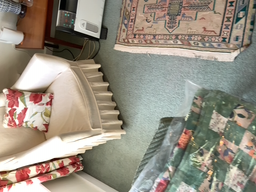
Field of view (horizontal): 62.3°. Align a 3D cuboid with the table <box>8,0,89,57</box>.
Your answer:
[{"bbox_3d":[-0.690,-0.940,1.910,0.530,0.440,1.070,14,98,37],"label":"table"}]

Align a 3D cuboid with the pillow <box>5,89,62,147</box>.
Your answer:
[{"bbox_3d":[-0.740,0.150,1.660,0.270,0.290,0.370,12,97,37],"label":"pillow"}]

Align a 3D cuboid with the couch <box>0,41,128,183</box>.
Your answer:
[{"bbox_3d":[-0.650,0.160,1.620,0.770,0.830,0.660,-35,69,33],"label":"couch"}]
